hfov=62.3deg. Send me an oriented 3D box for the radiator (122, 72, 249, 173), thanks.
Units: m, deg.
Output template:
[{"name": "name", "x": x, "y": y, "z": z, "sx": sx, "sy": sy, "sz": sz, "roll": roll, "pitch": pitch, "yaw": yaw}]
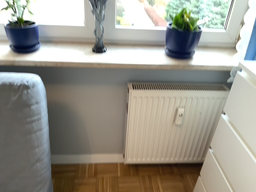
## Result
[{"name": "radiator", "x": 0.330, "y": 0.200, "z": 1.440, "sx": 0.690, "sy": 0.730, "sz": 0.150, "roll": -1, "pitch": 33, "yaw": -8}]
